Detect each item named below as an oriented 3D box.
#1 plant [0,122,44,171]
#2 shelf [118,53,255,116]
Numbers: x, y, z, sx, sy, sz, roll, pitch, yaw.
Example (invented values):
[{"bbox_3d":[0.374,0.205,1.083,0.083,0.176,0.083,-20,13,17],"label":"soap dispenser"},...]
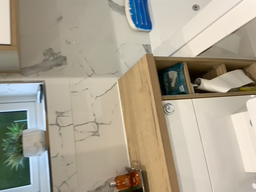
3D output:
[{"bbox_3d":[-0.530,0.250,1.070,0.170,0.180,0.200,148,116,-62],"label":"plant"},{"bbox_3d":[0.400,-0.060,1.250,0.340,0.830,0.230,147,117,-62],"label":"shelf"}]
